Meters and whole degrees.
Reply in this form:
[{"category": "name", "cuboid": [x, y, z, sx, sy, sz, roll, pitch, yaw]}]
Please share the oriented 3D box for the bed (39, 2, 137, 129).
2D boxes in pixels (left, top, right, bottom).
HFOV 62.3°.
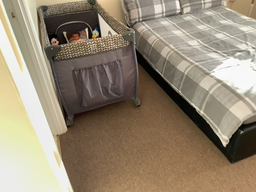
[{"category": "bed", "cuboid": [-0.460, -0.420, 2.170, 0.630, 0.710, 1.270, -15, 37, -15]}]
